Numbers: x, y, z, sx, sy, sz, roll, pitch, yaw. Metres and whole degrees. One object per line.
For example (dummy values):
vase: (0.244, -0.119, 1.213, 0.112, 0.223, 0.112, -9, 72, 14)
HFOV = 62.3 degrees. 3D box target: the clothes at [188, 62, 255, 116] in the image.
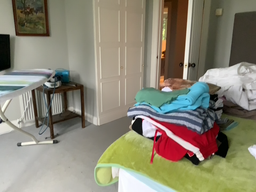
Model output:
clothes: (1.010, -0.110, 1.960, 0.640, 0.320, 0.560, -8, 18, -29)
